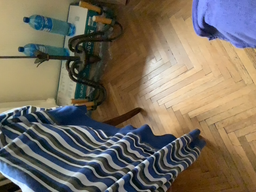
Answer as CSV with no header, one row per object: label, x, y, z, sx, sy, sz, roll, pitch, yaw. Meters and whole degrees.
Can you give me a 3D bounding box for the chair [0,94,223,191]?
chair,-0.100,0.390,0.900,0.600,0.950,0.620,19,104,34
